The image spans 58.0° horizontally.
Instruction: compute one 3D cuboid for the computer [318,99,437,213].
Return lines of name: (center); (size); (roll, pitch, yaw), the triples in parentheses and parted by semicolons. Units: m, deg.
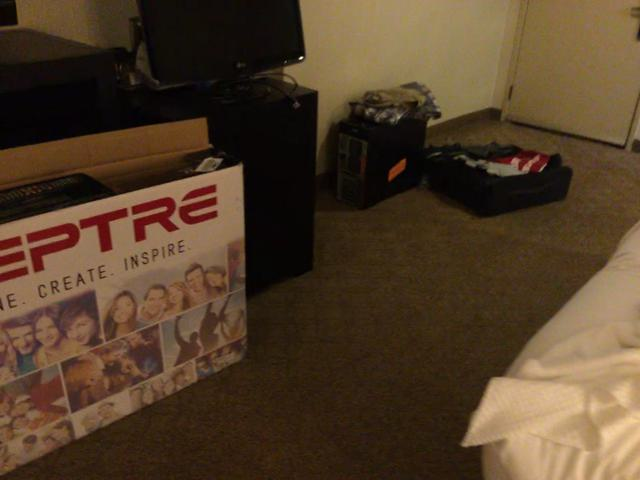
computer: (0.310, -0.470, 3.120); (0.330, 0.440, 0.560); (24, 34, 37)
